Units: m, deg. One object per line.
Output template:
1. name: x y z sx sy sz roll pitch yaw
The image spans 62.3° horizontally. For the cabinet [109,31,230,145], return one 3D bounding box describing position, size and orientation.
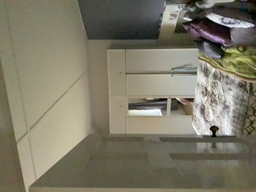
1. cabinet: 0.790 -0.120 4.510 0.600 2.160 2.300 -87 -5 -68
